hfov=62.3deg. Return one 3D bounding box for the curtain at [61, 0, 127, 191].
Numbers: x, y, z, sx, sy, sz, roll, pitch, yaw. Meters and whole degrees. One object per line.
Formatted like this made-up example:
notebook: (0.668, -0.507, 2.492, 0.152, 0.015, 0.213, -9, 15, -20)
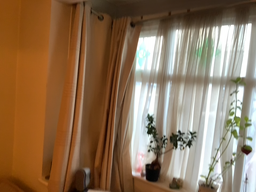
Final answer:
curtain: (-0.320, 0.040, 1.920, 0.410, 1.710, 0.260, 8, 5, 37)
